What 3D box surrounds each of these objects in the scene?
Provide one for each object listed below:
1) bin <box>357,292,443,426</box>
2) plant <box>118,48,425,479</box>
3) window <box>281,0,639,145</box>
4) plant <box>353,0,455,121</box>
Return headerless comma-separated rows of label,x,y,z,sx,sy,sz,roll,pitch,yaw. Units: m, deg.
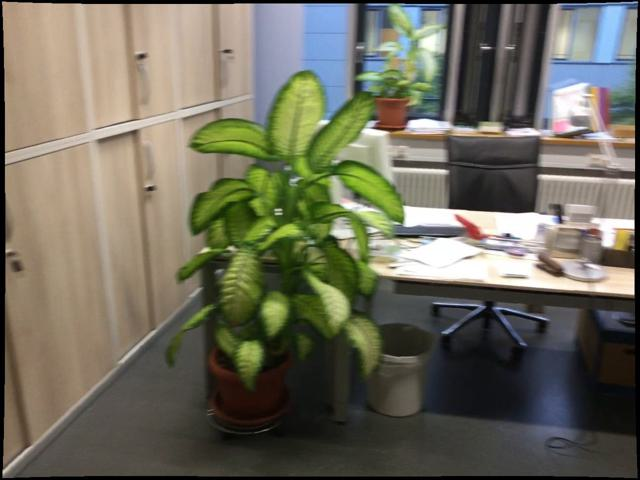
bin,0.360,0.511,2.570,0.310,0.380,0.420,7,21,8
plant,-0.110,0.030,2.320,0.869,1.431,0.990,7,21,8
window,1.229,-1.642,3.870,2.977,1.781,0.280,7,26,9
plant,0.619,-1.371,4.280,0.629,0.851,0.480,7,21,8
